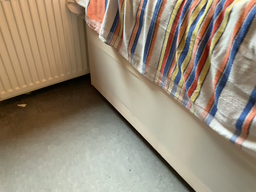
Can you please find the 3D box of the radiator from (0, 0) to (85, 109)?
[{"bbox_3d":[-0.470,-0.250,1.030,0.480,0.530,0.110,-23,45,-30],"label":"radiator"}]
